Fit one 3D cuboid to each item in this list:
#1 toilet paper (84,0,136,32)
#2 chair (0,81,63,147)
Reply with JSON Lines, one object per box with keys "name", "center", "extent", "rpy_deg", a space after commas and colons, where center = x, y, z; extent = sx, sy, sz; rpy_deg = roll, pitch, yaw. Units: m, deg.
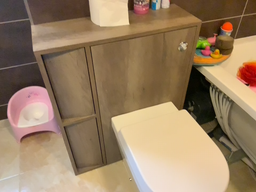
{"name": "toilet paper", "center": [-0.080, -0.380, 0.890], "extent": [0.180, 0.140, 0.150], "rpy_deg": [-14, 42, -16]}
{"name": "chair", "center": [-0.680, 0.120, 1.520], "extent": [0.320, 0.270, 0.310], "rpy_deg": [-14, 42, -16]}
